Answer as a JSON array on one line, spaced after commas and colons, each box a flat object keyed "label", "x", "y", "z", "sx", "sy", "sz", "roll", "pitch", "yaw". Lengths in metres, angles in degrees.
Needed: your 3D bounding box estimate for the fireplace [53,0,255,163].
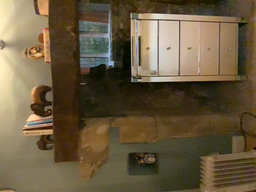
[{"label": "fireplace", "x": 0.270, "y": -0.380, "z": 2.100, "sx": 0.880, "sy": 1.780, "sz": 1.660, "roll": -154, "pitch": 64, "yaw": -78}]
